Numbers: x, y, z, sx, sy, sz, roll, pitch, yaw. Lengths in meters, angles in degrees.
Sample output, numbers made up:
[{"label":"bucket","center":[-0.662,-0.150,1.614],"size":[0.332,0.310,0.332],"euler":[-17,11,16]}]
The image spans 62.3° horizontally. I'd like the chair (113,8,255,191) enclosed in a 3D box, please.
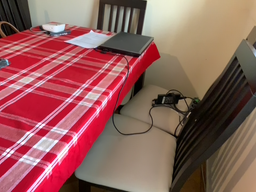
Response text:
[{"label":"chair","center":[0.300,0.060,1.310],"size":[0.590,1.000,0.410],"euler":[19,33,19]}]
